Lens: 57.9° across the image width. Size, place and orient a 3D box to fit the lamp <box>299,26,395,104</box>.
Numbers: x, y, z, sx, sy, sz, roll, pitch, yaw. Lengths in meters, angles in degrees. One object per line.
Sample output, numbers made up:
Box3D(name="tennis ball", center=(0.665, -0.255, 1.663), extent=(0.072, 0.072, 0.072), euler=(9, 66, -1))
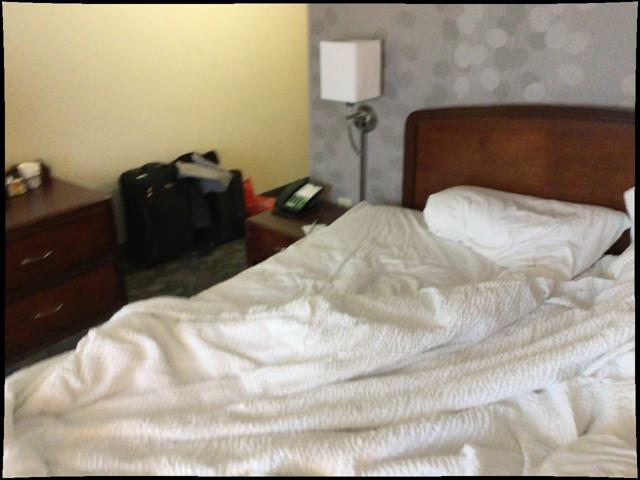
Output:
Box3D(name="lamp", center=(0.110, -0.751, 2.450), extent=(0.310, 0.260, 0.250), euler=(18, 31, 33))
